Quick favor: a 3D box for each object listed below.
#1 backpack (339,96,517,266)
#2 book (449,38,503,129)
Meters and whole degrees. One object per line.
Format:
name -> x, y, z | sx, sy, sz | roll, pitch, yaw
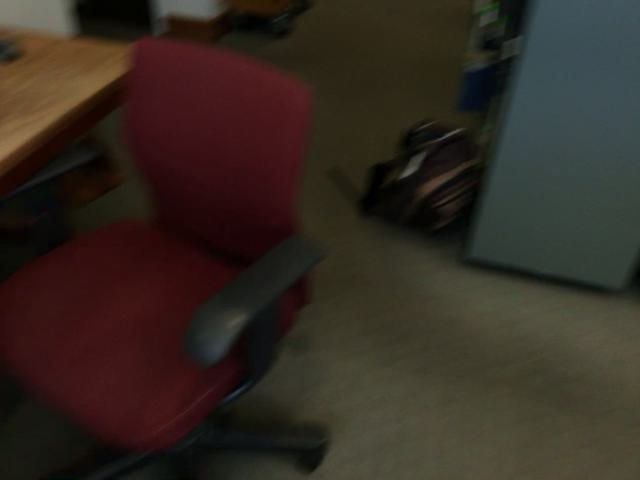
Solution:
backpack -> 0.350, -0.220, 2.050 | 0.470, 0.440, 0.360 | -8, 34, -12
book -> 0.660, -0.670, 2.440 | 0.170, 0.250, 0.390 | 9, 34, 12
